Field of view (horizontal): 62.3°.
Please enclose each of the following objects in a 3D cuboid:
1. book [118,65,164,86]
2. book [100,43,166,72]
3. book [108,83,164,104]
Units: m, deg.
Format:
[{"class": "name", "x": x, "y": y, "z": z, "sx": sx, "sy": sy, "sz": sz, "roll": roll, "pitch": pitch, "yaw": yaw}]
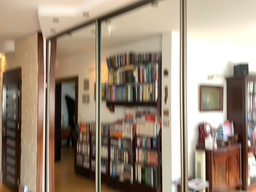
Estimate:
[{"class": "book", "x": 0.190, "y": -0.320, "z": 3.510, "sx": 0.840, "sy": 0.270, "sz": 0.150, "roll": 0, "pitch": -1, "yaw": 42}, {"class": "book", "x": 0.010, "y": -0.630, "z": 3.680, "sx": 1.430, "sy": 0.310, "sz": 0.140, "roll": -1, "pitch": -1, "yaw": 44}, {"class": "book", "x": 0.090, "y": -0.030, "z": 3.590, "sx": 0.230, "sy": 0.300, "sz": 1.090, "roll": 2, "pitch": -1, "yaw": -44}]
